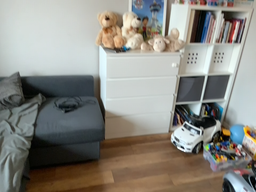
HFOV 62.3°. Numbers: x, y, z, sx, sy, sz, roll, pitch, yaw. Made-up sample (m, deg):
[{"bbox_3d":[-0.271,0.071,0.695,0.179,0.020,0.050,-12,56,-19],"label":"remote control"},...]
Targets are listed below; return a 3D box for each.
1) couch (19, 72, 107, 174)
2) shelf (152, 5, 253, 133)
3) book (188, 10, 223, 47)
[{"bbox_3d":[-0.650,0.200,2.240,0.680,0.640,0.890,-4,25,-16],"label":"couch"},{"bbox_3d":[0.840,-0.330,2.650,0.780,1.440,0.520,-4,25,-17],"label":"shelf"},{"bbox_3d":[0.820,-0.720,2.270,0.260,0.350,0.140,-4,25,-16],"label":"book"}]
